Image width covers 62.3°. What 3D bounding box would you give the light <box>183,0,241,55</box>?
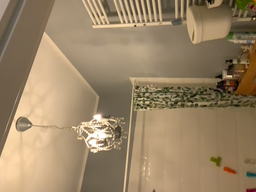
[{"bbox_3d":[0.560,-0.500,1.480,0.280,0.330,0.310,64,-149,-63],"label":"light"}]
